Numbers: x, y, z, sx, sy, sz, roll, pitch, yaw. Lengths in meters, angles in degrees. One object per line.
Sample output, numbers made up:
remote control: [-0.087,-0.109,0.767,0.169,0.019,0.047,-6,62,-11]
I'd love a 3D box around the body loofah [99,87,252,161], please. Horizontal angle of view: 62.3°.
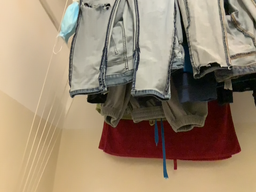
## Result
body loofah: [0.210,0.150,1.090,0.680,0.330,0.130,-3,-27,9]

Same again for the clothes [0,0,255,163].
clothes: [0.390,-0.150,0.950,1.520,0.750,0.690,-3,-27,9]
